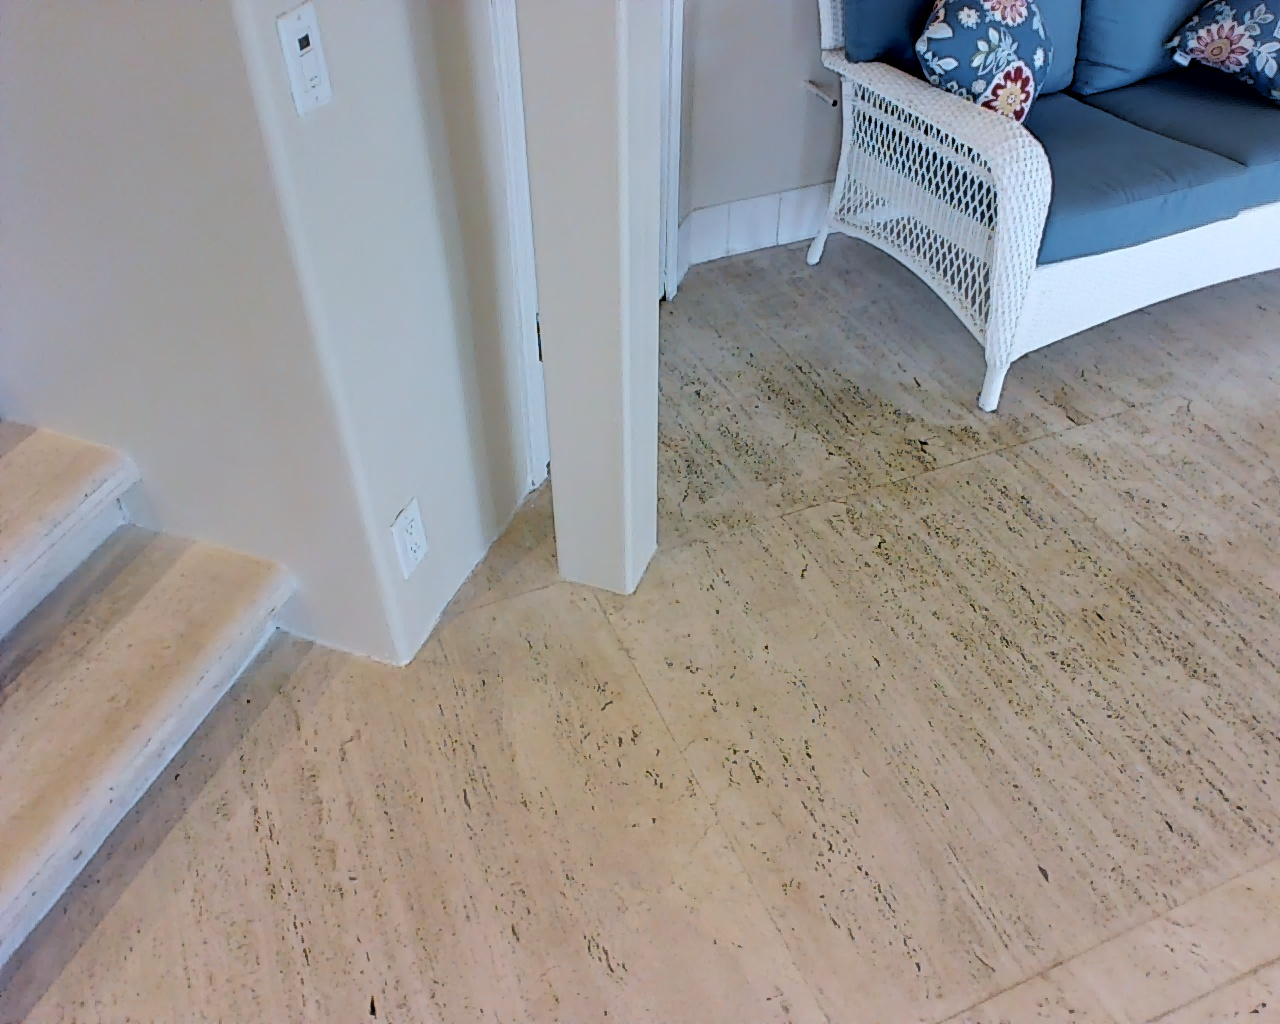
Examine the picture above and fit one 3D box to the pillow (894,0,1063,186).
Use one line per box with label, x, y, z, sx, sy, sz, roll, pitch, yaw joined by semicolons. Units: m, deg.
pillow;0.760;-1.030;2.340;0.190;0.380;0.480;2;48;34
